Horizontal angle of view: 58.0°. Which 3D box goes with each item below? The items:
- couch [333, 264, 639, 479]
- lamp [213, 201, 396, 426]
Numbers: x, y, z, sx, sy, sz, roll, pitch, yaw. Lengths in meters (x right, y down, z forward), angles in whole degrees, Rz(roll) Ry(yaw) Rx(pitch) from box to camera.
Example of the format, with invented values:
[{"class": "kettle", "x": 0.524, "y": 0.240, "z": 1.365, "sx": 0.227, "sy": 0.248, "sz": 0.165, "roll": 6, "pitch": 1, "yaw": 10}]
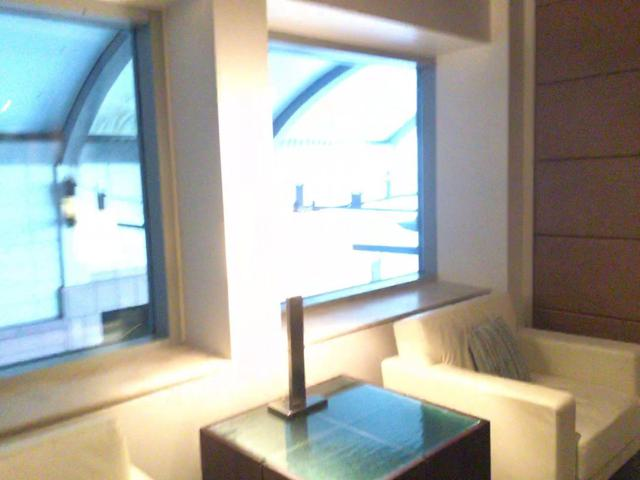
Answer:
[{"class": "couch", "x": 0.960, "y": 0.670, "z": 2.920, "sx": 1.330, "sy": 0.890, "sz": 1.130, "roll": -7, "pitch": 6, "yaw": -41}, {"class": "lamp", "x": -0.060, "y": 0.230, "z": 2.210, "sx": 0.460, "sy": 0.720, "sz": 0.480, "roll": -7, "pitch": 6, "yaw": -41}]
